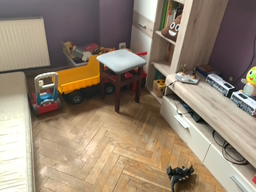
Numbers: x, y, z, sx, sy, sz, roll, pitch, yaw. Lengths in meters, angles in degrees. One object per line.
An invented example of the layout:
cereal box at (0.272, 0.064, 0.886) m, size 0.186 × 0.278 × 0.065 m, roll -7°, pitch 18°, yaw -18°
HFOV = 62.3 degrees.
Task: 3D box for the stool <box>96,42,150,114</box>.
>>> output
stool at (-0.070, -0.180, 2.020) m, size 0.320 × 0.500 × 0.390 m, roll -18°, pitch 42°, yaw -29°

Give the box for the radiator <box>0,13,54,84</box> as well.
radiator at (-1.250, -0.460, 2.120) m, size 0.880 × 0.630 × 0.250 m, roll -9°, pitch 38°, yaw -19°
